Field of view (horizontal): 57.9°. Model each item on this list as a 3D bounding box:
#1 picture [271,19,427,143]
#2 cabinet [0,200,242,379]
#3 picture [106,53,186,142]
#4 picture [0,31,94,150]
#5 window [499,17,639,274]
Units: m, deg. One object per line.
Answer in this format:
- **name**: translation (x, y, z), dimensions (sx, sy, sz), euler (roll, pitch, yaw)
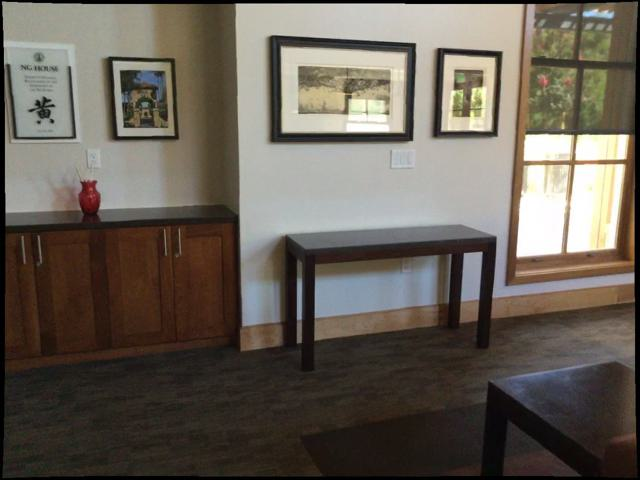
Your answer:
- **picture**: translation (0.180, -0.901, 3.370), dimensions (0.939, 0.661, 0.060), euler (-3, 10, -19)
- **cabinet**: translation (-1.259, 0.240, 3.400), dimensions (1.499, 0.871, 0.510), euler (-3, 10, -19)
- **picture**: translation (-1.049, -0.851, 3.500), dimensions (0.440, 0.511, 0.060), euler (-3, 10, -19)
- **picture**: translation (-1.578, -0.851, 3.350), dimensions (0.470, 0.651, 0.050), euler (-3, 10, -19)
- **window**: translation (1.878, -0.641, 4.110), dimensions (1.139, 1.672, 0.250), euler (-3, 10, -19)
